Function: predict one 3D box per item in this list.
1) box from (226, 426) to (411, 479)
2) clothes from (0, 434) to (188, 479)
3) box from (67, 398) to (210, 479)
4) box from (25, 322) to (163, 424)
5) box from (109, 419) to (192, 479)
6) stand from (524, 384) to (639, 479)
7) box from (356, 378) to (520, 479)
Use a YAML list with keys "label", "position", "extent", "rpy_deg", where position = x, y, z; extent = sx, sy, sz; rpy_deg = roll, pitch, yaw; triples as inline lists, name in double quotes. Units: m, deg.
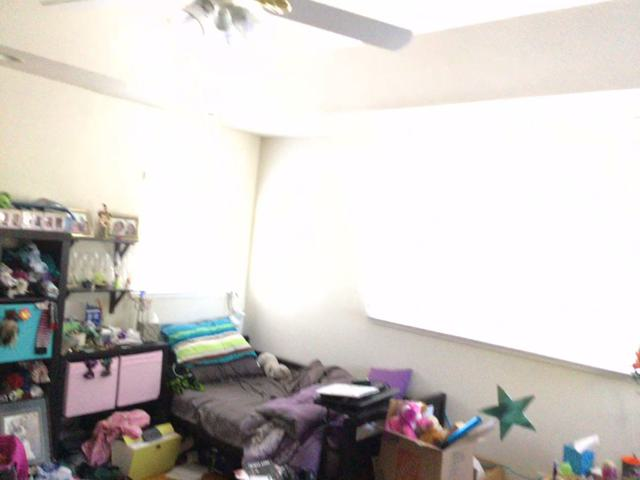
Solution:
- label: "box"
  position: [0.020, 1.310, 3.020]
  extent: [0.500, 0.420, 0.930]
  rpy_deg: [-1, -6, 38]
- label: "clothes"
  position: [-1.290, 1.320, 3.100]
  extent: [0.800, 0.260, 0.800]
  rpy_deg: [-1, -6, 38]
- label: "box"
  position: [-1.140, 1.270, 3.690]
  extent: [0.470, 0.360, 0.710]
  rpy_deg: [-1, -6, 38]
- label: "box"
  position: [-1.440, 0.820, 3.720]
  extent: [0.460, 0.530, 0.650]
  rpy_deg: [-1, -6, 38]
- label: "box"
  position: [-1.050, 1.320, 3.610]
  extent: [0.220, 0.290, 0.450]
  rpy_deg: [0, -5, 31]
- label: "stand"
  position: [1.420, 1.140, 2.910]
  extent: [0.620, 0.690, 0.460]
  rpy_deg: [-1, -6, 38]
- label: "box"
  position: [0.630, 1.080, 3.060]
  extent: [0.650, 0.550, 0.580]
  rpy_deg: [-1, -6, 38]
